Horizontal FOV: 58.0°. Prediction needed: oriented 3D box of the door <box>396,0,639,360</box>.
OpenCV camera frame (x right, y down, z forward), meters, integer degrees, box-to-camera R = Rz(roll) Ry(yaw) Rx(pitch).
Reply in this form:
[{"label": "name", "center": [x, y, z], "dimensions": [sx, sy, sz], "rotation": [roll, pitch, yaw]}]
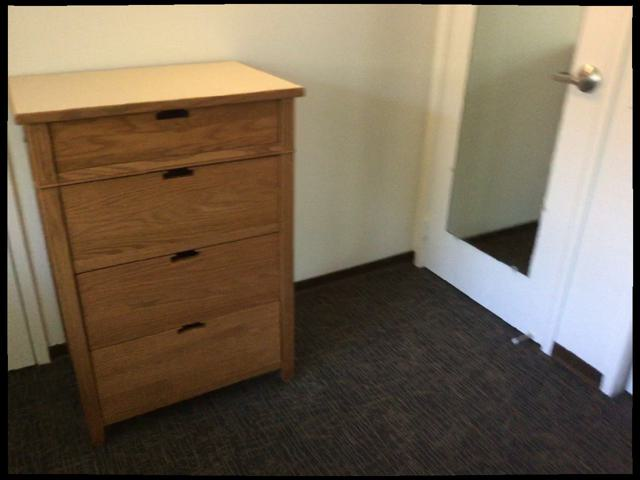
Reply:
[{"label": "door", "center": [0.729, -0.611, 2.260], "dimensions": [0.200, 1.973, 0.930], "rotation": [-13, 30, -26]}]
